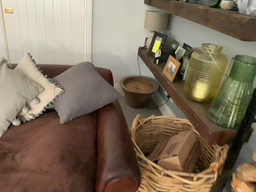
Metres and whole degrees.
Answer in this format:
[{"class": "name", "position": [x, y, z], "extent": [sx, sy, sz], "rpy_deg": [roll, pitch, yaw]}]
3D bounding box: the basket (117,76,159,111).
[{"class": "basket", "position": [0.100, -0.040, 2.630], "extent": [0.420, 0.270, 0.410], "rpy_deg": [1, 28, -11]}]

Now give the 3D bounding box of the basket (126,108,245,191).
[{"class": "basket", "position": [0.300, 0.470, 1.470], "extent": [0.530, 0.500, 0.630], "rpy_deg": [3, 28, -7]}]
